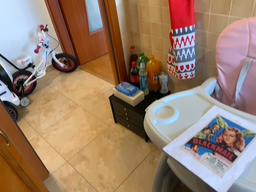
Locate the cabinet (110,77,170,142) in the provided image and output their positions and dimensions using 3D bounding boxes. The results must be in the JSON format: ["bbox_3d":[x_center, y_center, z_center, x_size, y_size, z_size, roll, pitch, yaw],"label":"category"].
[{"bbox_3d":[0.110,0.100,1.760,0.350,0.300,0.320,26,50,36],"label":"cabinet"}]

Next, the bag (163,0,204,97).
[{"bbox_3d":[0.310,-0.390,1.210,0.170,0.860,0.130,26,50,36],"label":"bag"}]
